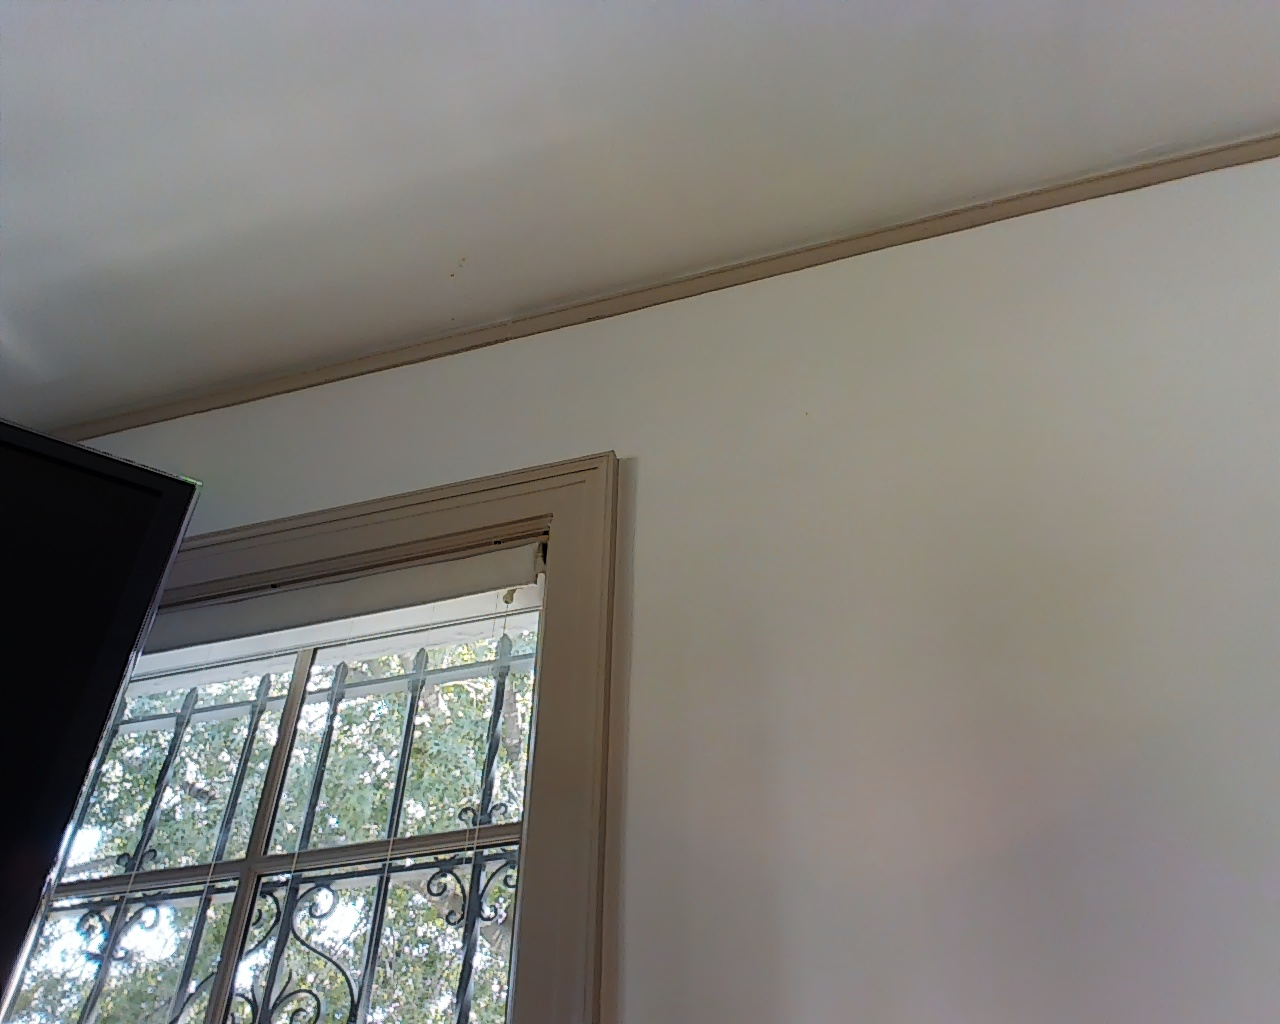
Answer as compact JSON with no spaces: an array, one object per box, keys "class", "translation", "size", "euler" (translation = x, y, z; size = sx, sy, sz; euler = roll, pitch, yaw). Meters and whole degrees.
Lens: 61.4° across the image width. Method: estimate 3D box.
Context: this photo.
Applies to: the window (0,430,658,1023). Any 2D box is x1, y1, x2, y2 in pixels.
[{"class":"window","translation":[-0.660,0.840,1.450],"size":[1.360,2.120,0.210],"euler":[-11,-43,13]}]
